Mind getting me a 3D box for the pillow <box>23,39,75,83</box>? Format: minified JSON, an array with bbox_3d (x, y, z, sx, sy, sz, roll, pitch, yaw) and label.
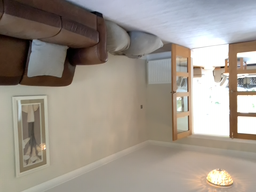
[{"bbox_3d":[-0.930,-0.400,2.510,0.210,0.430,0.450,-21,172,40],"label":"pillow"}]
